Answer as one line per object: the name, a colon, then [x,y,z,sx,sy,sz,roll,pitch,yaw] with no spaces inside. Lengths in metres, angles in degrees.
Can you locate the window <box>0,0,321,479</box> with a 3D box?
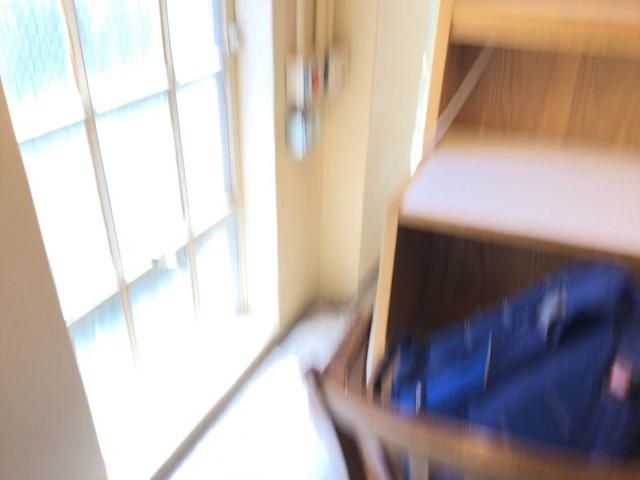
window: [-0.390,-0.260,1.170,0.300,1.940,0.990,13,32,25]

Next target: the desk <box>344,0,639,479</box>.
desk: [0.600,-0.050,1.440,0.830,1.310,0.740,13,32,25]

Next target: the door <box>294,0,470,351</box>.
door: [0.250,-0.680,1.970,0.290,1.980,0.820,13,32,25]
